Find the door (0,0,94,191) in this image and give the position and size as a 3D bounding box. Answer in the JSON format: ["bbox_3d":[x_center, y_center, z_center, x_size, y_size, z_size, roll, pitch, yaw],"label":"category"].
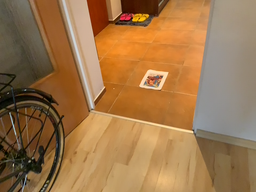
[{"bbox_3d":[-0.630,-0.390,0.870,0.070,2.000,0.890,19,45,27],"label":"door"}]
